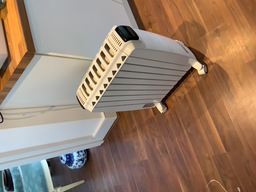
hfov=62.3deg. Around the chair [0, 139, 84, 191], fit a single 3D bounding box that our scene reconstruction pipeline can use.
[{"bbox_3d":[-1.020,0.800,2.030,0.550,0.950,0.500,-27,74,40],"label":"chair"}]
